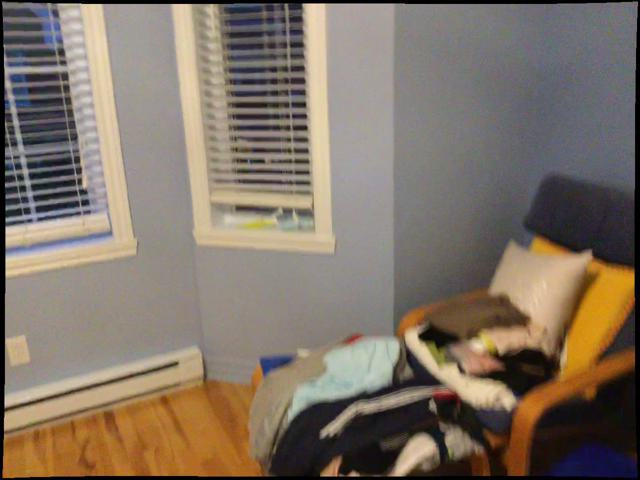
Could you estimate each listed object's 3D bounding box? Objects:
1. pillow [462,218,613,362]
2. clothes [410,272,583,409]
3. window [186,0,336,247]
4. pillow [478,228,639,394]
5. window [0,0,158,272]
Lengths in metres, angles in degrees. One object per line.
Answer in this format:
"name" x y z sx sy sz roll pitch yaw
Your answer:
"pillow" 0.709 0.150 1.920 0.380 0.330 0.260 -12 21 -22
"clothes" 0.529 0.290 1.810 0.300 0.190 0.430 -12 21 -23
"window" -0.220 -0.651 2.210 0.440 1.331 0.240 3 20 19
"pillow" 0.799 0.210 1.930 0.300 0.350 0.440 -12 21 -23
"window" -1.369 -0.541 2.000 1.349 1.381 0.210 -12 21 -23
